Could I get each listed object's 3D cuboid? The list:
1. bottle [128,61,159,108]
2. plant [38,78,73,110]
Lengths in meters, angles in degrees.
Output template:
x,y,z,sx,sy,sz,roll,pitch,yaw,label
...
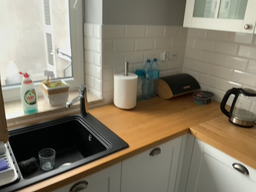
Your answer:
x,y,z,sx,sy,sz,roll,pitch,yaw,label
0.130,-0.100,1.770,0.230,0.350,0.090,-13,26,-37,bottle
-0.520,-0.020,1.520,0.170,0.140,0.230,-12,25,-34,plant
